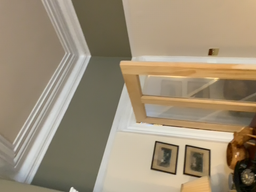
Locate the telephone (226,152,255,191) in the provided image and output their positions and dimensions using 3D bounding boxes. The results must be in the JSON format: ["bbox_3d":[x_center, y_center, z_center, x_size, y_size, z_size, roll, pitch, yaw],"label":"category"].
[{"bbox_3d":[0.640,0.450,1.170,0.200,0.130,0.200,77,-159,-50],"label":"telephone"}]
